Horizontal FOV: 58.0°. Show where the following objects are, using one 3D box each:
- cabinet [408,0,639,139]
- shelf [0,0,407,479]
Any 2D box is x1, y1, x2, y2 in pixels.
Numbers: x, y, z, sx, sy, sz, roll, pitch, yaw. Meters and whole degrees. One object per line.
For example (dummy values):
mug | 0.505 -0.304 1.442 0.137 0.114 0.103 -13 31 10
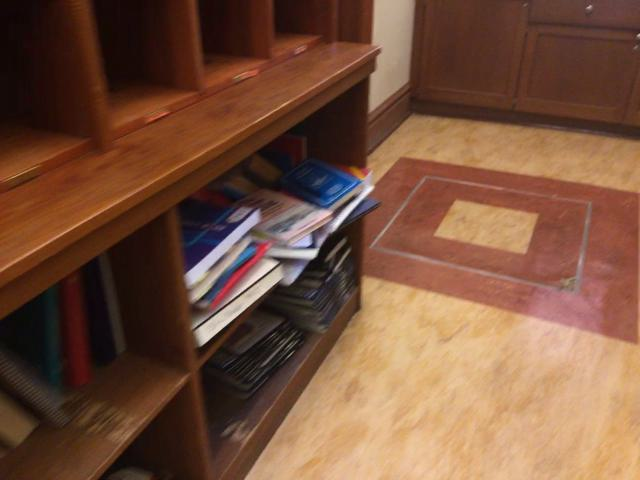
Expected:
cabinet | 1.430 -0.990 3.100 1.940 0.800 0.130 13 34 25
shelf | -0.440 -0.250 0.900 0.520 2.020 1.880 13 34 25
